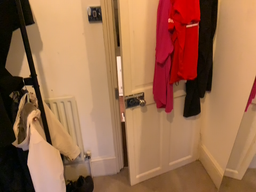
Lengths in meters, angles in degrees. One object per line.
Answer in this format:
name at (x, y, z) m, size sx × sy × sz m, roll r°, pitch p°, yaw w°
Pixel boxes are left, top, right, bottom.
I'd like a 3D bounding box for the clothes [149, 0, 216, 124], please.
clothes at (0.330, -0.340, 1.370) m, size 0.330 × 1.040 × 0.190 m, roll -11°, pitch 28°, yaw -17°
